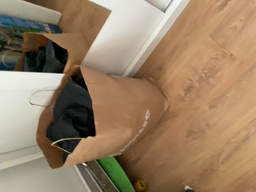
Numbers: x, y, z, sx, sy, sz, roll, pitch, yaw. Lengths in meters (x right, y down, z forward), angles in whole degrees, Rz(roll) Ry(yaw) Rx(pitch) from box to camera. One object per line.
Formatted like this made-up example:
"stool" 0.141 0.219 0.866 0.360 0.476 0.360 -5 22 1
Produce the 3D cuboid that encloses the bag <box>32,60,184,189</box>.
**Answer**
"bag" -0.070 0.110 1.040 0.290 0.550 0.430 51 118 22
